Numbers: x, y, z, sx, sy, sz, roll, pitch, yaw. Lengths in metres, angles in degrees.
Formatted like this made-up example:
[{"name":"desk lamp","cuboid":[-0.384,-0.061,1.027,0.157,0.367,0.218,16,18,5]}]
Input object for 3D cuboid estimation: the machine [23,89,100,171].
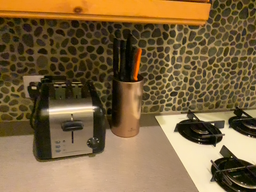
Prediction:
[{"name":"machine","cuboid":[-0.200,0.100,0.690,0.200,0.190,0.170,-2,26,-13]}]
